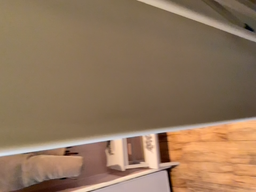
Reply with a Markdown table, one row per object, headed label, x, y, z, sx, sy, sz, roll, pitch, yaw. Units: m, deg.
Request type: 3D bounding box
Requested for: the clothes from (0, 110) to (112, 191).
| label | x | y | z | sx | sy | sz | roll | pitch | yaw |
| --- | --- | --- | --- | --- | --- | --- | --- | --- | --- |
| clothes | -0.680 | 0.320 | 1.200 | 0.460 | 1.070 | 0.410 | -11 | 81 | 52 |
